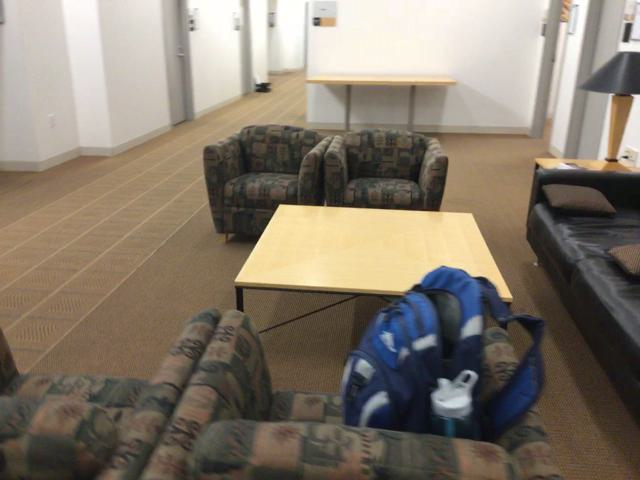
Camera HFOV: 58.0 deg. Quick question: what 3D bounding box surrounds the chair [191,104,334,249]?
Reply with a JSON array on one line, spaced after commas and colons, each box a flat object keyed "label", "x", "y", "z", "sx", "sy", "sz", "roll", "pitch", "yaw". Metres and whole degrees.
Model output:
[{"label": "chair", "x": -0.340, "y": -0.440, "z": 3.760, "sx": 0.770, "sy": 0.720, "sz": 0.700, "roll": 4, "pitch": 23, "yaw": 5}]

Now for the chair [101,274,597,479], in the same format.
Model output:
[{"label": "chair", "x": 0.070, "y": 0.590, "z": 1.300, "sx": 0.760, "sy": 0.720, "sz": 0.730, "roll": 4, "pitch": 23, "yaw": 5}]

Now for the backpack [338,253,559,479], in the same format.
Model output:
[{"label": "backpack", "x": 0.230, "y": 0.290, "z": 1.240, "sx": 0.360, "sy": 0.400, "sz": 0.350, "roll": 3, "pitch": 23, "yaw": 1}]

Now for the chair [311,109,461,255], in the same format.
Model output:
[{"label": "chair", "x": 0.400, "y": -0.400, "z": 3.710, "sx": 0.820, "sy": 0.710, "sz": 0.680, "roll": 4, "pitch": 23, "yaw": 5}]
